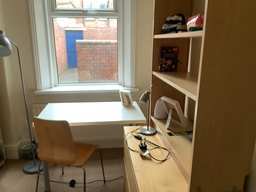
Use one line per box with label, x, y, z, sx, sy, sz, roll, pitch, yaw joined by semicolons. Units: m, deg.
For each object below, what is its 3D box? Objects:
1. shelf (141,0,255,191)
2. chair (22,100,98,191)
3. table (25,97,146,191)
shelf;0.330;-0.200;1.210;0.320;1.050;0.840;-2;15;-9
chair;-0.550;0.510;1.900;0.440;0.830;0.480;2;15;5
table;-0.390;0.470;2.230;1.030;0.750;0.640;-1;15;-6
